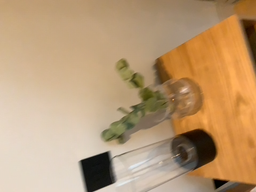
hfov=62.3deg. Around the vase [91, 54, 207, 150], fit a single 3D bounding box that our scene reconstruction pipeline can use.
[{"bbox_3d":[0.060,0.010,0.590,0.120,0.260,0.210,-22,80,58],"label":"vase"}]
